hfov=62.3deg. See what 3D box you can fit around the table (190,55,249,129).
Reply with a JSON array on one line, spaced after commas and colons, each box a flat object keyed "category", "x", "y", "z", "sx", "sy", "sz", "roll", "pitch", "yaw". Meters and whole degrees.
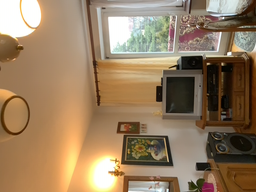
[{"category": "table", "x": 1.430, "y": -0.060, "z": 3.400, "sx": 0.580, "sy": 0.690, "sz": 1.080, "roll": -46, "pitch": -44, "yaw": -87}]
